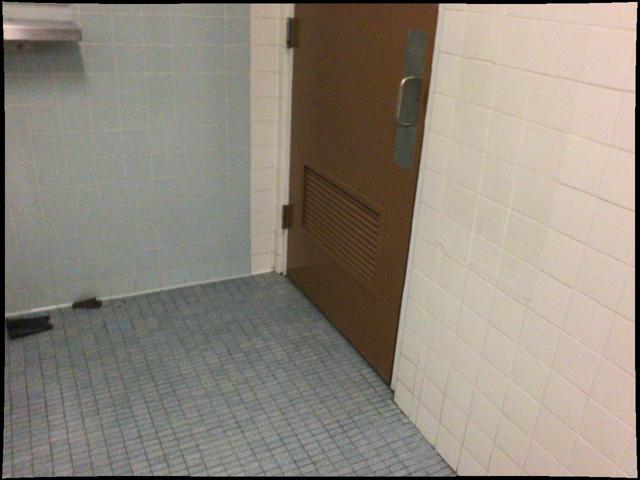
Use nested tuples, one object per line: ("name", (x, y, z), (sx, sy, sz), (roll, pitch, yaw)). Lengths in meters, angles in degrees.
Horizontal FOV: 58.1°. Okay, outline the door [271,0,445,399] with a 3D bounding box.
("door", (0.060, -0.251, 2.140), (0.080, 1.423, 0.860), (-9, 26, -28))
